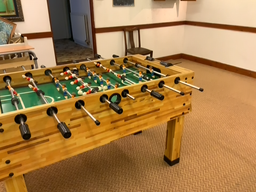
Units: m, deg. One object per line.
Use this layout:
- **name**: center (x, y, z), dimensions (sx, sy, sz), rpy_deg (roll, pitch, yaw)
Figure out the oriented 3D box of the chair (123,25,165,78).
- **chair**: center (0.300, -0.920, 4.280), dimensions (0.560, 0.910, 0.590), rpy_deg (-16, 28, -31)
